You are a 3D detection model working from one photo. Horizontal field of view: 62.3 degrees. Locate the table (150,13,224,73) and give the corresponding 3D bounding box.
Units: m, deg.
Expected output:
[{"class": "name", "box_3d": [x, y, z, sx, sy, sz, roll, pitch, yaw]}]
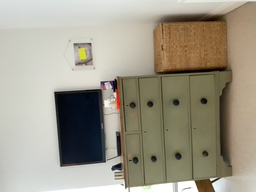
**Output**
[{"class": "table", "box_3d": [0.630, -0.560, 2.340, 0.360, 0.690, 0.570, -139, 45, -81]}]
